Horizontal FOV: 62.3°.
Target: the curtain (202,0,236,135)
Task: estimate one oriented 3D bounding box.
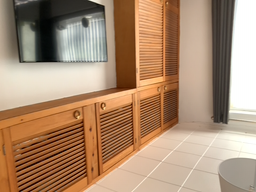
[{"bbox_3d":[1.190,-0.490,2.790,0.310,1.950,0.260,5,-169,35],"label":"curtain"}]
